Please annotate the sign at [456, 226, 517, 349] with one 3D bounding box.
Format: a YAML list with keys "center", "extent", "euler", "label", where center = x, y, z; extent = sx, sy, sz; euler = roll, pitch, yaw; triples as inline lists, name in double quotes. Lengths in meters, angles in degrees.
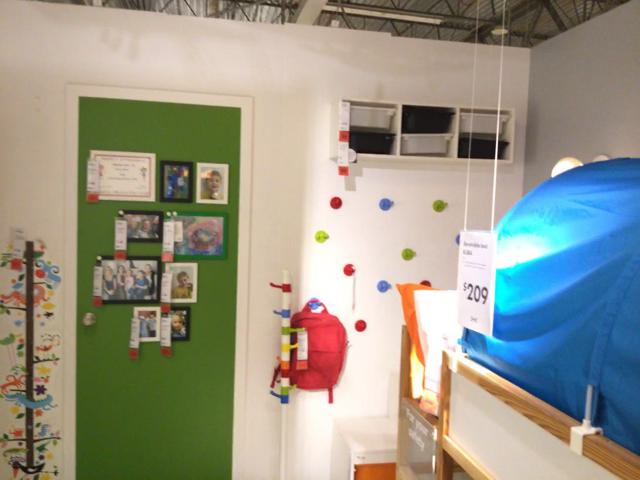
- center: [0.490, 0.130, 1.720]
  extent: [0.050, 0.330, 0.230]
  euler: [1, 5, -13]
  label: "sign"

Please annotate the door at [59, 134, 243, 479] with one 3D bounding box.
- center: [-0.860, 0.430, 2.970]
  extent: [0.860, 1.860, 0.140]
  euler: [1, 5, -13]
  label: "door"

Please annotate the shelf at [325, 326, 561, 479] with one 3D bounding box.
- center: [0.620, 0.970, 3.070]
  extent: [1.070, 0.920, 0.490]
  euler: [1, 5, -13]
  label: "shelf"
